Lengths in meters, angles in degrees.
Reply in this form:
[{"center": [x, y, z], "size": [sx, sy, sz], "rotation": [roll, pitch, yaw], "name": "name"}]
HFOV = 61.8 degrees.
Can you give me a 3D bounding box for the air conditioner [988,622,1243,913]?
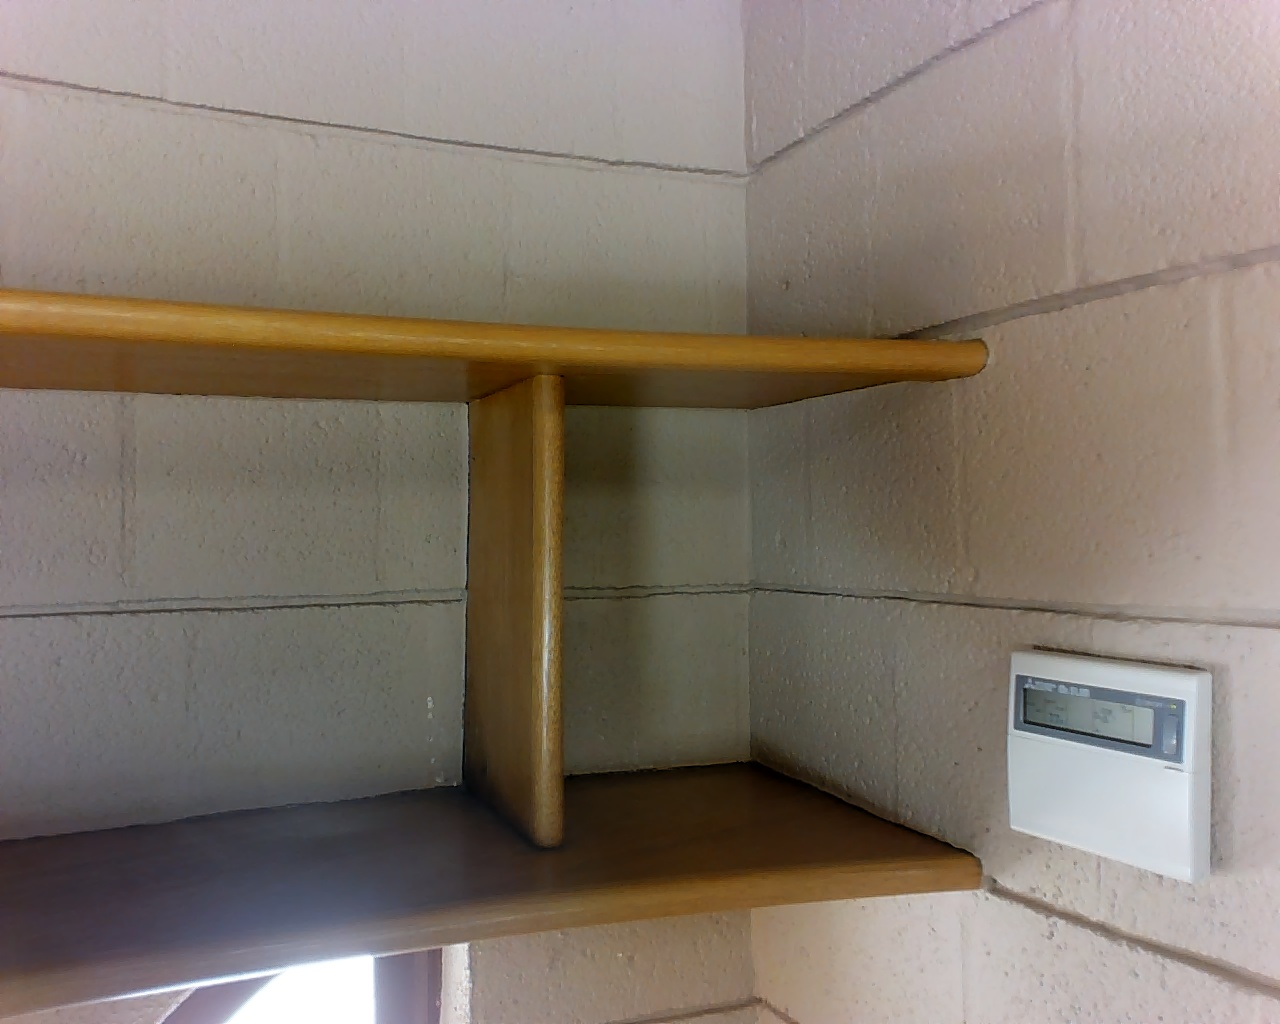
[{"center": [0.290, 0.150, 0.670], "size": [0.020, 0.150, 0.160], "rotation": [0, -1, -31], "name": "air conditioner"}]
